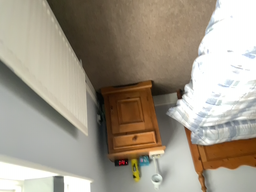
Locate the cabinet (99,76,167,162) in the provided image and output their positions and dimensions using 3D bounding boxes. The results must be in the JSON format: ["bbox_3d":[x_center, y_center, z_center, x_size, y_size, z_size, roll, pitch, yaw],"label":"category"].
[{"bbox_3d":[0.040,0.260,2.280,0.570,0.750,0.440,-8,156,0],"label":"cabinet"}]

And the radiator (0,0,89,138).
[{"bbox_3d":[-0.390,-0.240,1.030,0.080,0.600,1.290,-8,156,0],"label":"radiator"}]
